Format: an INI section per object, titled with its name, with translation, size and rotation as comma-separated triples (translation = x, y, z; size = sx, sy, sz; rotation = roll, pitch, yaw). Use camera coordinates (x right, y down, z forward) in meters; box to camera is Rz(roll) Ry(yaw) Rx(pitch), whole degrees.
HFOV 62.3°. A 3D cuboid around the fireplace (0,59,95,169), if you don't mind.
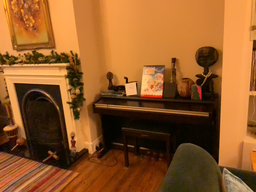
[fireplace]
translation = -1.270, 0.170, 2.890
size = 1.390, 1.230, 0.560
rotation = 3, 18, 25
